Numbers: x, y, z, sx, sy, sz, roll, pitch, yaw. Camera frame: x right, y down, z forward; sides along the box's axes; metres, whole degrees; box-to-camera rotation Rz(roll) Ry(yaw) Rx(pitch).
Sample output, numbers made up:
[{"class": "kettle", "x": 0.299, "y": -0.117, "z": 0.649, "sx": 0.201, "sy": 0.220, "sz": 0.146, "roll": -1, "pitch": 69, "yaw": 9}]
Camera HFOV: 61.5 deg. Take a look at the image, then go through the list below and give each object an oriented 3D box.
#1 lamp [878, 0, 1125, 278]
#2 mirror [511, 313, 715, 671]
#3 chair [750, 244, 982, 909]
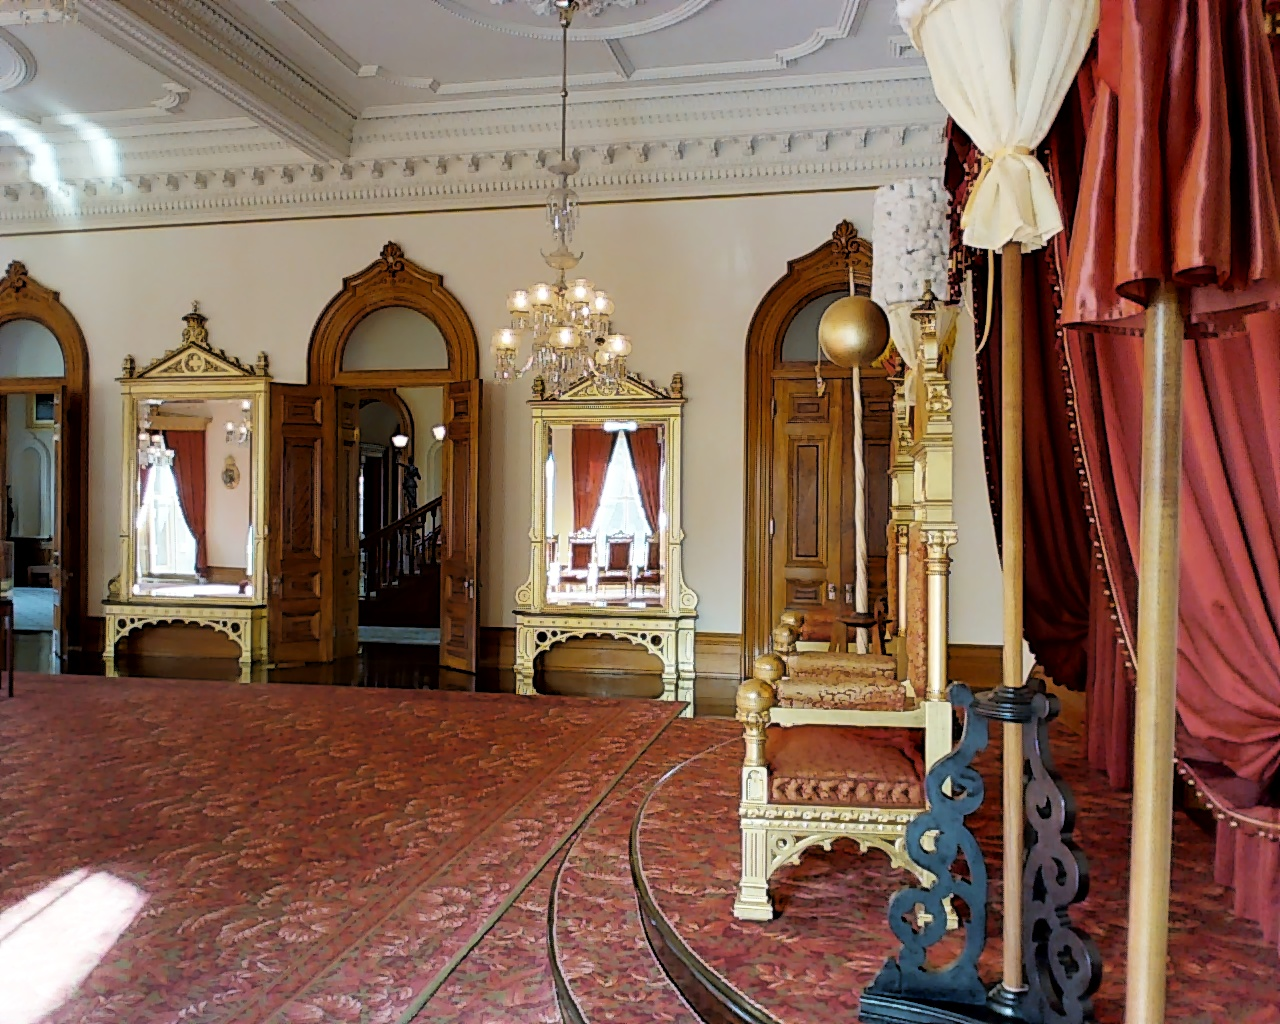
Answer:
[{"class": "lamp", "x": 0.890, "y": -1.290, "z": 2.610, "sx": 0.430, "sy": 1.290, "sz": 0.560, "roll": 0, "pitch": 0, "yaw": 34}, {"class": "mirror", "x": -0.270, "y": -0.190, "z": 10.620, "sx": 1.970, "sy": 3.410, "sz": 0.400, "roll": 0, "pitch": 0, "yaw": 12}, {"class": "chair", "x": 0.750, "y": 0.190, "z": 3.600, "sx": 0.680, "sy": 1.950, "sz": 0.760, "roll": 0, "pitch": 0, "yaw": 12}]
